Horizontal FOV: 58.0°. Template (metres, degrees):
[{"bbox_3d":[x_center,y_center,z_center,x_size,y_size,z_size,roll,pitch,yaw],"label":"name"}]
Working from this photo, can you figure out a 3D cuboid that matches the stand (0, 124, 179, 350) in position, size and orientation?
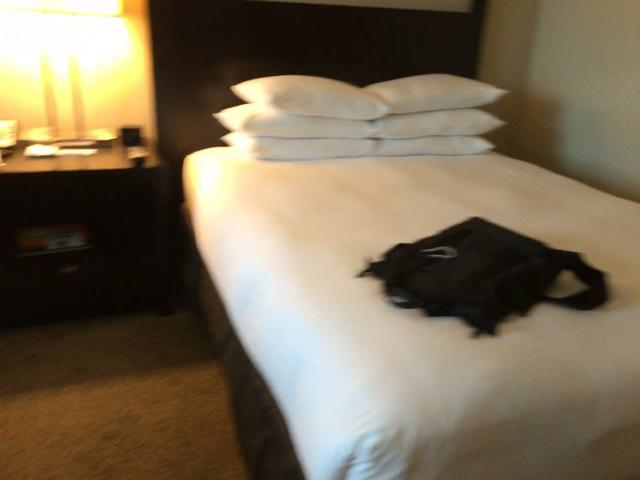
[{"bbox_3d":[-1.040,-0.050,2.310,0.810,0.710,0.550,-7,22,-22],"label":"stand"}]

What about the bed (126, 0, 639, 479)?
[{"bbox_3d":[0.400,-0.240,2.020,1.780,1.560,2.130,-7,22,-22],"label":"bed"}]
